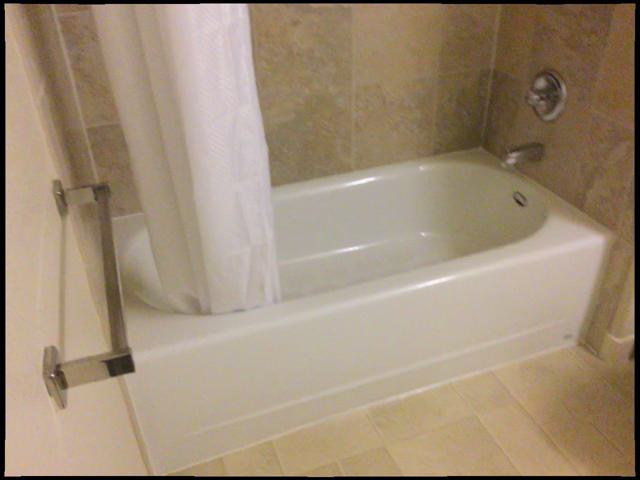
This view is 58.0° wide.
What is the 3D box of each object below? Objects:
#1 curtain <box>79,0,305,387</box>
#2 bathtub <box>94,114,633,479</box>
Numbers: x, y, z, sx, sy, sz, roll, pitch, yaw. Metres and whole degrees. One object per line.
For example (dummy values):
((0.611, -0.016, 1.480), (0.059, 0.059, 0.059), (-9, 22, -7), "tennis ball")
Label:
((-0.269, -0.481, 1.020), (0.309, 1.742, 0.280), (-14, 36, -15), "curtain")
((0.100, 0.100, 1.970), (1.507, 0.561, 0.770), (-14, 36, -15), "bathtub")
